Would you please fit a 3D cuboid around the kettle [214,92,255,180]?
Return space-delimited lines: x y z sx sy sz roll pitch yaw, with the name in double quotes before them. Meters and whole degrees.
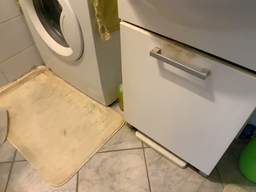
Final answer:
"kettle" 0.550 0.170 0.960 0.120 0.270 0.310 30 56 25
